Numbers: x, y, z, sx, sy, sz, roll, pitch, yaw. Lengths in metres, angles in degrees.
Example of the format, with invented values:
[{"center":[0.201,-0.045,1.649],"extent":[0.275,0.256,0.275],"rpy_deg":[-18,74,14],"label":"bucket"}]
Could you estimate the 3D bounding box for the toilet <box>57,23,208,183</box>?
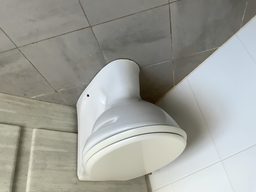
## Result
[{"center":[-0.040,0.080,0.950],"extent":[0.370,0.450,0.510],"rpy_deg":[14,138,-32],"label":"toilet"}]
